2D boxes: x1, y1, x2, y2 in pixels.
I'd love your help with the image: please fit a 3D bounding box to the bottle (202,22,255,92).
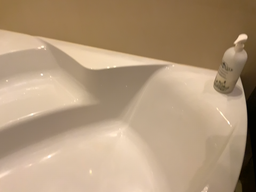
[{"bbox_3d":[0.430,-0.160,0.870,0.180,0.190,0.160,16,48,13],"label":"bottle"}]
